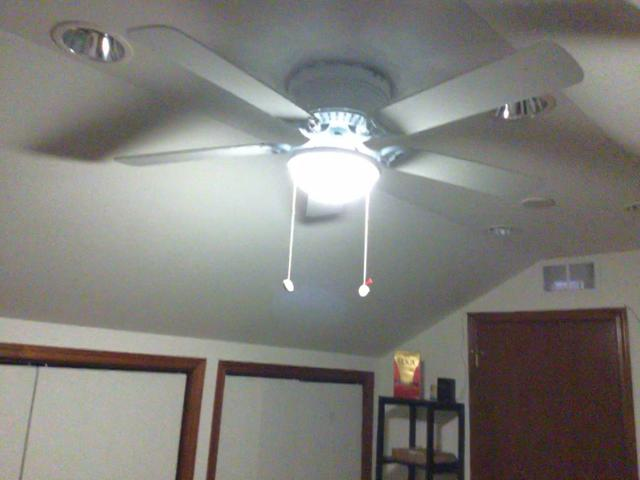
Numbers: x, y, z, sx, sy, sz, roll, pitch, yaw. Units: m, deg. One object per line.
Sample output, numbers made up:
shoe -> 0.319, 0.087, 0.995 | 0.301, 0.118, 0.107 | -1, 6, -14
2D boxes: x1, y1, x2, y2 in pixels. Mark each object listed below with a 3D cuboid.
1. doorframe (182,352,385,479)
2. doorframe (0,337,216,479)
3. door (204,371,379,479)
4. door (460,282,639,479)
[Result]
doorframe -> -0.170, 1.580, 3.280 | 1.330, 1.760, 0.230 | 16, -19, -42
doorframe -> -1.210, 1.240, 2.250 | 1.640, 1.670, 0.130 | 16, -19, -42
door -> -0.140, 1.600, 3.300 | 1.180, 1.600, 0.180 | 16, -19, -42
door -> 1.170, 1.230, 2.940 | 0.880, 1.950, 0.250 | -10, -19, 43
